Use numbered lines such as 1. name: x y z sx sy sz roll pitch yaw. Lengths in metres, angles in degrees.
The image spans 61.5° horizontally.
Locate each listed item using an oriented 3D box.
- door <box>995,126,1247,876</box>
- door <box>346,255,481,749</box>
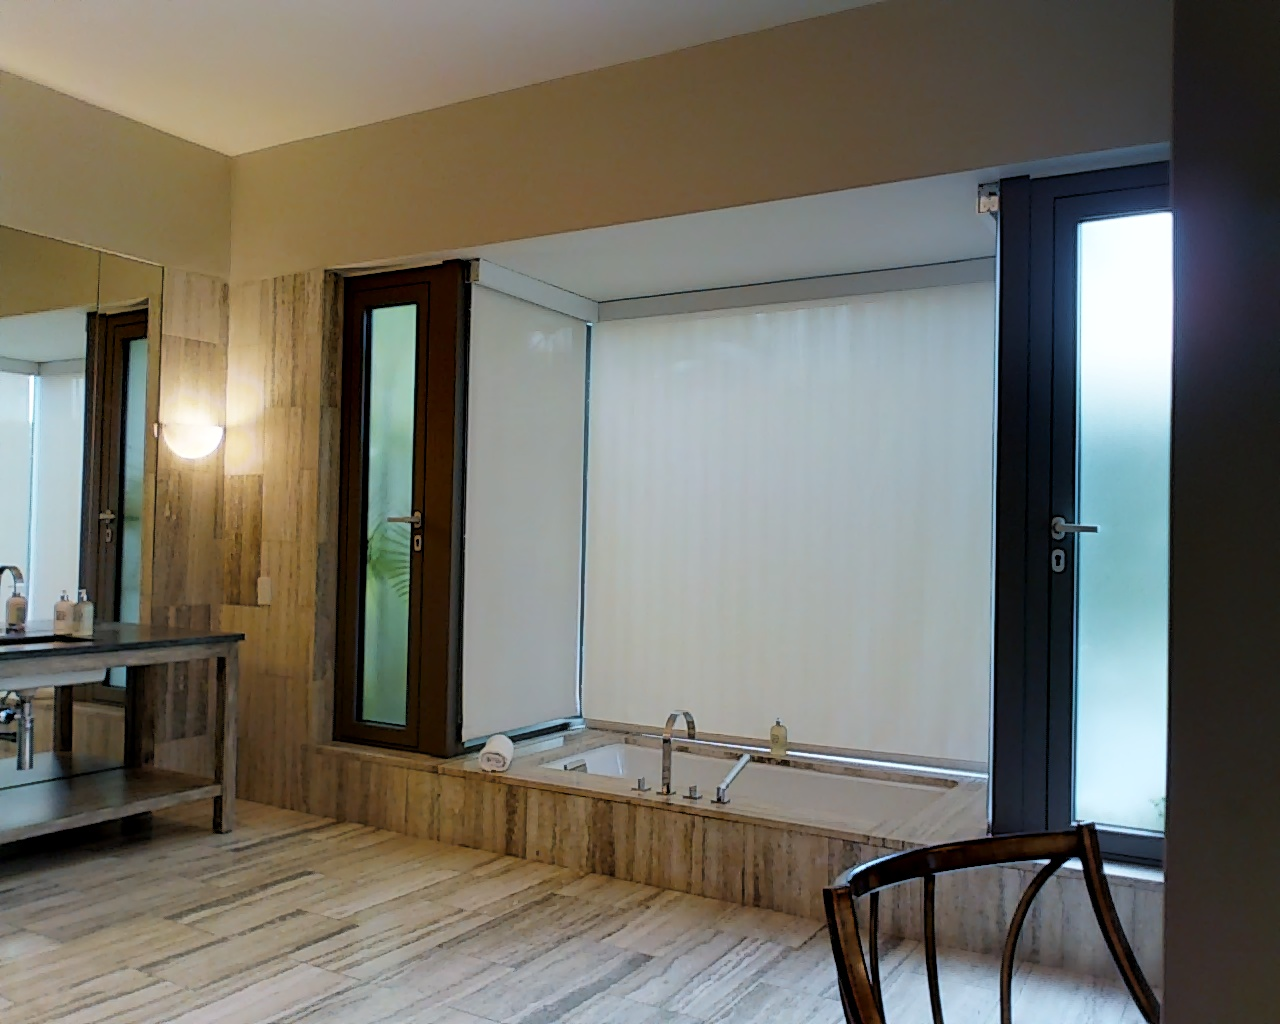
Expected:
1. door: 1.440 -0.040 3.250 0.660 2.120 0.100 1 -1 30
2. door: -1.010 -0.050 4.760 0.670 2.100 0.050 1 -1 30
